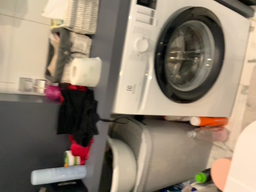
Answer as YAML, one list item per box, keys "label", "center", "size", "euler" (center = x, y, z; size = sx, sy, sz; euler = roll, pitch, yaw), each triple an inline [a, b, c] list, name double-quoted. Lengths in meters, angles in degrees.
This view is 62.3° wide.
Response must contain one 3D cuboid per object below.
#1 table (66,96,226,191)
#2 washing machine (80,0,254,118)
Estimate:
- label: "table"
  center: [0.130, 0.340, 1.300]
  size: [0.360, 0.840, 0.560]
  euler: [22, 104, 55]
- label: "washing machine"
  center: [0.230, -0.220, 1.210]
  size: [0.430, 0.820, 0.590]
  euler: [18, 101, 55]
